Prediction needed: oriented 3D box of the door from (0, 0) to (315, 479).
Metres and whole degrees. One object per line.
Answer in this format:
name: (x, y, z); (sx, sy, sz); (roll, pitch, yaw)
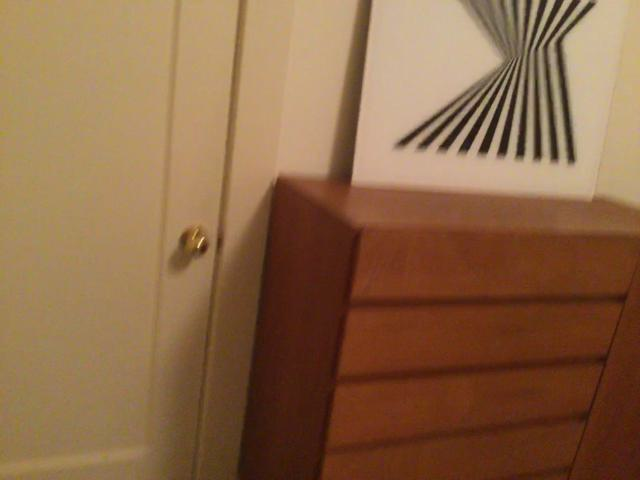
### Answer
door: (-0.540, -0.120, 1.220); (1.010, 2.010, 0.150); (-1, 15, -22)

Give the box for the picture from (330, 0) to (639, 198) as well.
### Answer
picture: (0.470, -0.470, 1.510); (0.850, 0.700, 0.120); (-1, 15, -22)
